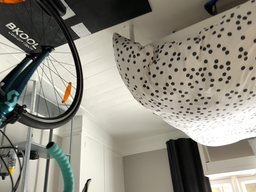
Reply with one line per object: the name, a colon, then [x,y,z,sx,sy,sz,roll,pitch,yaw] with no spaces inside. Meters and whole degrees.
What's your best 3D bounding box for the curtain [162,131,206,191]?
curtain: [0.900,1.680,2.920,0.480,2.350,0.130,-17,151,23]
